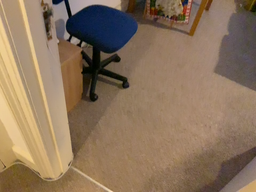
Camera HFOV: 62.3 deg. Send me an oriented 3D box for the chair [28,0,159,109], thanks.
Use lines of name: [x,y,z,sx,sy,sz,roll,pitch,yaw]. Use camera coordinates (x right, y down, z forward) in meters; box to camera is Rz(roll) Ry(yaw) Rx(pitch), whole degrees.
chair: [-0.220,-0.500,1.550,0.640,0.840,0.590,26,49,13]

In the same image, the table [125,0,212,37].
table: [0.620,-1.420,2.620,0.900,0.730,0.930,25,49,12]
